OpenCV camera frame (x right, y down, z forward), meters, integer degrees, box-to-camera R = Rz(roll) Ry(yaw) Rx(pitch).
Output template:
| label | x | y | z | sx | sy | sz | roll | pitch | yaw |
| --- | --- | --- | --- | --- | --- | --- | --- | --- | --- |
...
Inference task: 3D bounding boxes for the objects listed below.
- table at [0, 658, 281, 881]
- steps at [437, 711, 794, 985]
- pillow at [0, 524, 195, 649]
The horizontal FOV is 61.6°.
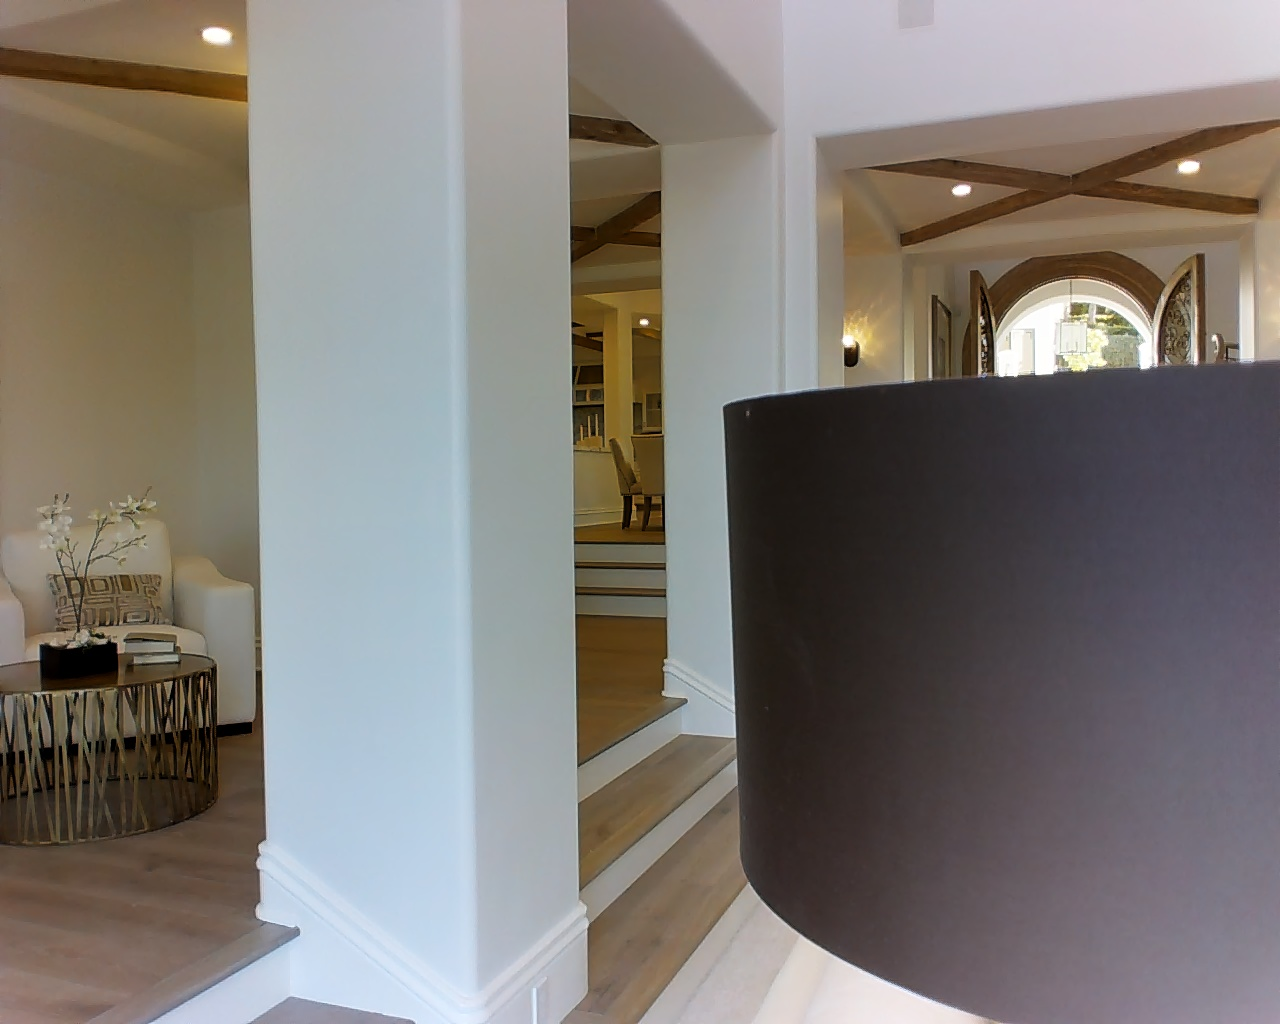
| label | x | y | z | sx | sy | sz | roll | pitch | yaw |
| --- | --- | --- | --- | --- | --- | --- | --- | --- | --- |
| table | -1.789 | 0.800 | 3.560 | 0.810 | 0.480 | 0.780 | -1 | 1 | 26 |
| steps | 0.060 | 1.140 | 4.100 | 0.540 | 0.300 | 2.200 | -1 | 1 | 22 |
| pillow | -2.489 | 0.320 | 4.910 | 0.750 | 0.500 | 0.360 | -2 | 1 | -38 |
